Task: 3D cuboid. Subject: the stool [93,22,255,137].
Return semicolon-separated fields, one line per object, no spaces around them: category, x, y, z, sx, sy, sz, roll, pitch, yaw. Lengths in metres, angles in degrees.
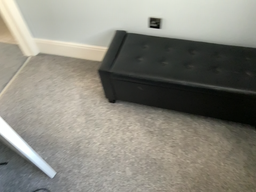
stool;0.390;-0.130;1.440;1.090;0.410;0.470;10;54;11
